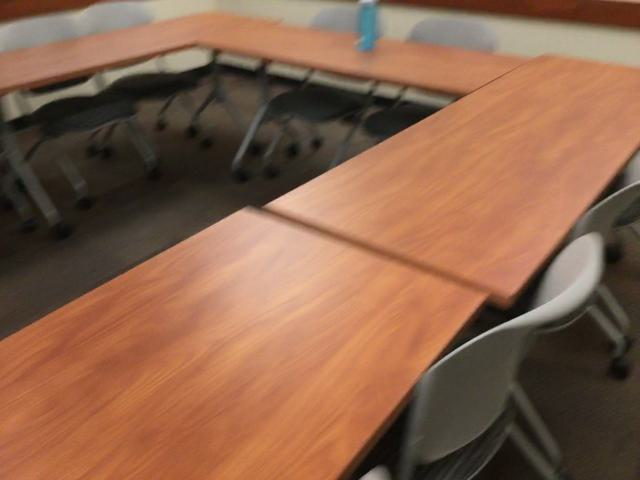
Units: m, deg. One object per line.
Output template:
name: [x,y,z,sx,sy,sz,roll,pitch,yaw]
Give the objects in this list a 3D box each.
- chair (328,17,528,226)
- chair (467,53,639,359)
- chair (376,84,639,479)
chair: [0.480,-0.580,2.640,0.570,0.680,0.690,22,38,34]
chair: [1.000,-0.180,2.090,0.540,0.750,0.780,22,38,33]
chair: [0.590,0.100,1.620,0.560,0.830,0.670,22,38,33]
